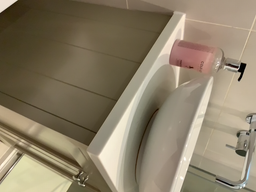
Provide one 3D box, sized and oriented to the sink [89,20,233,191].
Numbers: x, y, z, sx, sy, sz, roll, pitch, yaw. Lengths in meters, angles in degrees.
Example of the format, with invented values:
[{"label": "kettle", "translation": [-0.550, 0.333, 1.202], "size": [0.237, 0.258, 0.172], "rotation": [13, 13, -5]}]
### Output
[{"label": "sink", "translation": [0.120, 0.160, 0.620], "size": [0.400, 0.120, 0.590], "rotation": [-58, 155, -31]}]
